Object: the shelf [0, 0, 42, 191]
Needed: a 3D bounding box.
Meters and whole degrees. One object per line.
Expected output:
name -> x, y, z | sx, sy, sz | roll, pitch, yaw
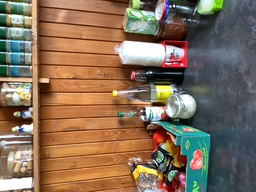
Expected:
shelf -> -0.530, 0.240, 0.820 | 0.110, 0.350, 1.890 | -165, 76, -72
